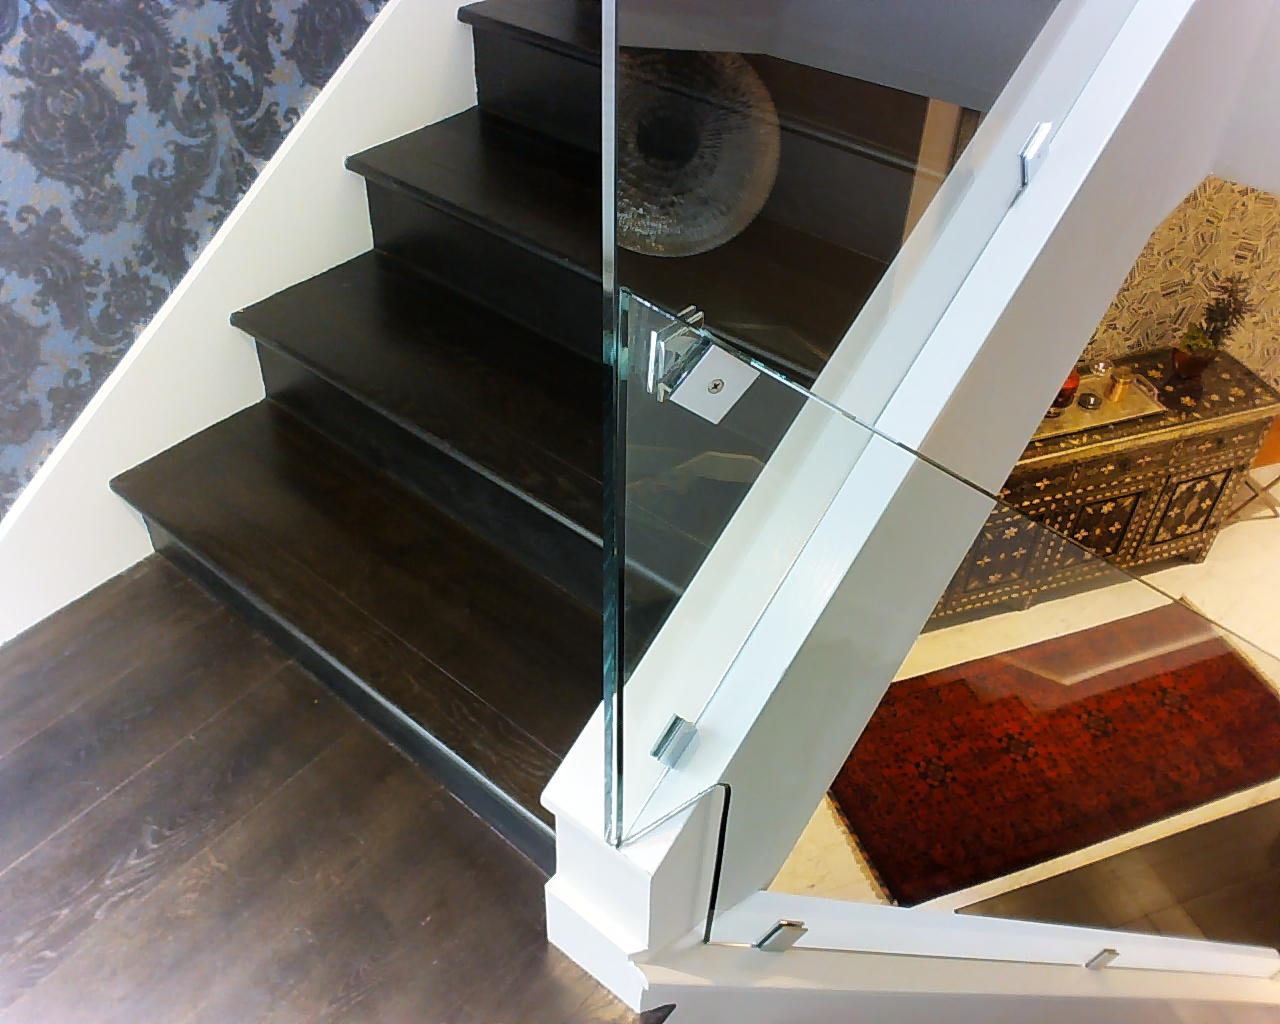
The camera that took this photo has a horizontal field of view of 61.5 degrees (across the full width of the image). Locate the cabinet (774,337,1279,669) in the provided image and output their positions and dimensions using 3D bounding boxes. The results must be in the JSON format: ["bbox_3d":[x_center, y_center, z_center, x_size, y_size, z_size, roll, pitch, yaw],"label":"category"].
[{"bbox_3d":[1.700,-0.060,4.670,2.100,0.940,0.520,-12,44,-14],"label":"cabinet"}]
